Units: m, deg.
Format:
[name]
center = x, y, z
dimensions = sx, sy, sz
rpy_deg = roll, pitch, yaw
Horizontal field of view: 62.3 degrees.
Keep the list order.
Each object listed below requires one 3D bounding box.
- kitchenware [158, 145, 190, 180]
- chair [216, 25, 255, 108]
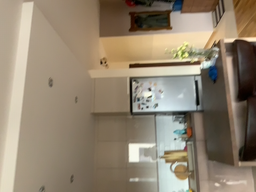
[kitchenware]
center = 0.850, 1.240, 3.960
dimensions = 0.160, 0.540, 0.610
rpy_deg = 74, -164, -75
[chair]
center = 1.370, -0.250, 1.970
dimensions = 0.500, 0.860, 0.620
rpy_deg = 73, -163, -76
